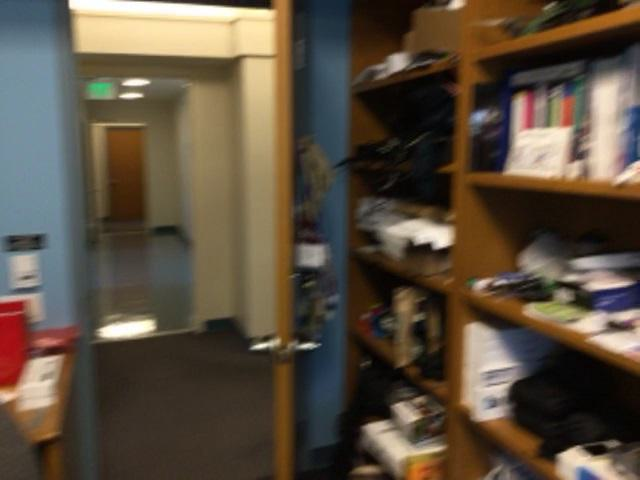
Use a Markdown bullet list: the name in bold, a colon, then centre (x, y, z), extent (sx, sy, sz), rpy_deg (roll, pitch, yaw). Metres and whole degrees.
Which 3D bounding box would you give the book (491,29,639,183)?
- **book**: centre (0.700, -0.310, 1.480), extent (0.230, 0.320, 0.510), rpy_deg (-1, 7, -20)

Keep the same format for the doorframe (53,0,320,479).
- **doorframe**: centre (-0.530, 0.070, 2.430), extent (1.000, 2.140, 0.240), rpy_deg (-1, 7, -19)
